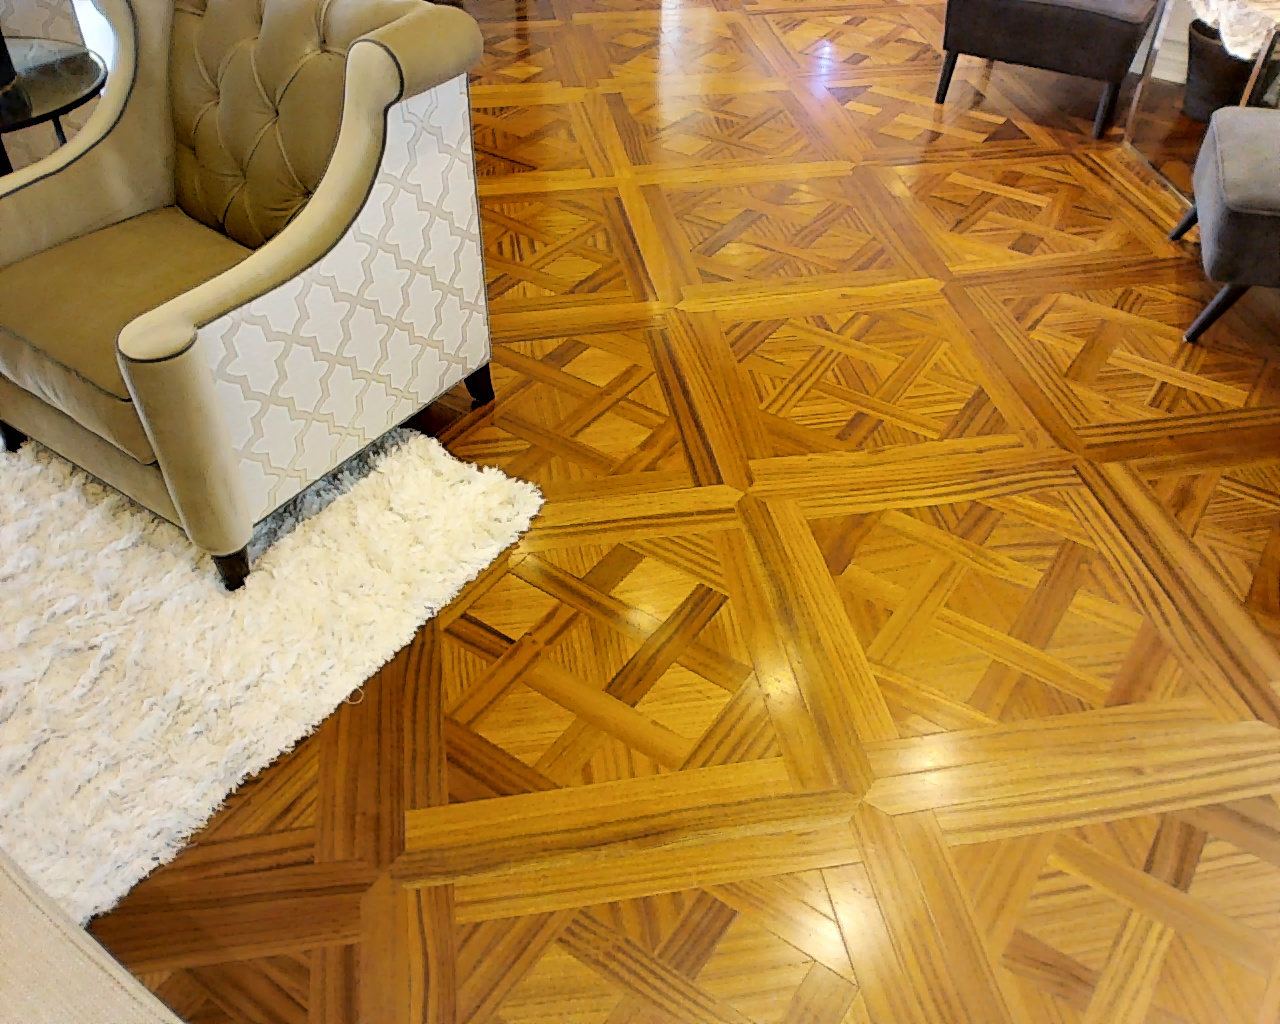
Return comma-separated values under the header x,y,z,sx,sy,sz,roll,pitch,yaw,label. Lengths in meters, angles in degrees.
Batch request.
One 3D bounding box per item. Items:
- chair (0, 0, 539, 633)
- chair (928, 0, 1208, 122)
x,y,z,sx,sy,sz,roll,pitch,yaw,label
-0.950,-0.590,2.380,1.030,1.030,0.940,25,47,25,chair
1.740,-2.130,4.160,0.800,0.780,0.900,24,47,24,chair
